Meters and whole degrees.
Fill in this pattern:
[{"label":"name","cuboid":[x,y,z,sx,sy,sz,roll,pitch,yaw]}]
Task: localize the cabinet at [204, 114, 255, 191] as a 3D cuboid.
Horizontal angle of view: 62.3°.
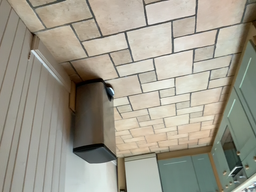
[{"label":"cabinet","cuboid":[1.580,0.910,3.130,0.580,0.890,0.920,-12,148,9]}]
